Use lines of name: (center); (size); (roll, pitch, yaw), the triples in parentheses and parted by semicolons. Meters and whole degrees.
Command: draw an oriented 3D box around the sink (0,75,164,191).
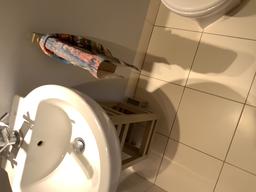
sink: (-0.180, 0.200, 0.750); (0.440, 0.270, 0.430); (19, 97, 30)
